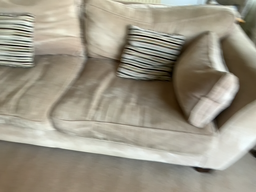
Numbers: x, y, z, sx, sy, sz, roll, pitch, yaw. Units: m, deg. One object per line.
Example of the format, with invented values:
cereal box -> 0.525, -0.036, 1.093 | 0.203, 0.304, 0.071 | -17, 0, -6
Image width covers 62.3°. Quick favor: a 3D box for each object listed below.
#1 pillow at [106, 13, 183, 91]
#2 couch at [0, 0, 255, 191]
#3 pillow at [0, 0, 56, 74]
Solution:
pillow -> 0.120, -0.280, 1.440 | 0.380, 0.400, 0.120 | -17, 31, 21
couch -> -0.340, -0.210, 1.500 | 2.350, 0.810, 1.080 | 8, 37, 5
pillow -> -0.790, -0.410, 1.440 | 0.430, 0.380, 0.110 | -24, 28, 25
